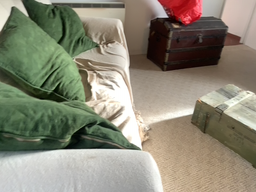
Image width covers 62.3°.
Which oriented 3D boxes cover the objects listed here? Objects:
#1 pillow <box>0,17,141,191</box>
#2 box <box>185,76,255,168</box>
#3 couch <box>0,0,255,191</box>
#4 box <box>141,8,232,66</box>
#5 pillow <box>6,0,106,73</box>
[{"bbox_3d":[-0.290,0.000,0.810,0.640,0.140,0.570,-1,57,-60],"label":"pillow"},{"bbox_3d":[0.920,0.200,1.510,0.500,0.270,0.840,-17,38,-33],"label":"box"},{"bbox_3d":[-0.430,-0.160,1.380,1.000,0.880,2.080,1,31,-8],"label":"couch"},{"bbox_3d":[0.720,-0.800,2.790,0.870,0.540,0.610,-7,33,-20],"label":"box"},{"bbox_3d":[-0.560,-0.580,1.810,0.370,0.610,0.620,17,3,19],"label":"pillow"}]
